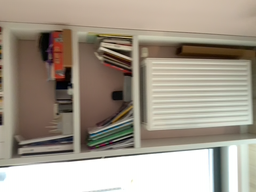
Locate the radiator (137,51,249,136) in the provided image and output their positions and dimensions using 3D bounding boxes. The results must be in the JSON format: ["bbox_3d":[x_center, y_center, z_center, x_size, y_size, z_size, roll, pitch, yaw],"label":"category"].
[{"bbox_3d":[0.520,-0.030,1.700,0.250,0.850,0.590,-171,80,-74],"label":"radiator"}]
